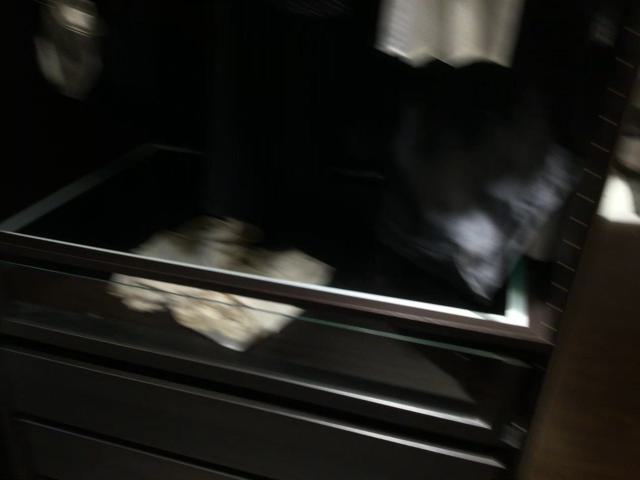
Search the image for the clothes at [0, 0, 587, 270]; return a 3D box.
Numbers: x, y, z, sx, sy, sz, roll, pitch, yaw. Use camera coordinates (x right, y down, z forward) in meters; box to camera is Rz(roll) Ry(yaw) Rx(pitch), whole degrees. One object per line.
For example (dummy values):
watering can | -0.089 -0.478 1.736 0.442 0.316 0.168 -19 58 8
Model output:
clothes | -0.040 -0.520 0.780 0.700 1.060 0.400 -1 29 4
